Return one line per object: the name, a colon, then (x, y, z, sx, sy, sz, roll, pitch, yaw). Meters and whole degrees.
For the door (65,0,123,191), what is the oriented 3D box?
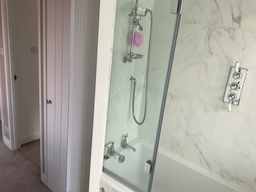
door: (-0.250, 0.390, 1.120, 0.080, 2.030, 0.640, -1, 19, -22)

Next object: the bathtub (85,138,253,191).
bathtub: (0.470, 0.990, 1.630, 1.580, 0.570, 0.720, 19, 21, 35)
